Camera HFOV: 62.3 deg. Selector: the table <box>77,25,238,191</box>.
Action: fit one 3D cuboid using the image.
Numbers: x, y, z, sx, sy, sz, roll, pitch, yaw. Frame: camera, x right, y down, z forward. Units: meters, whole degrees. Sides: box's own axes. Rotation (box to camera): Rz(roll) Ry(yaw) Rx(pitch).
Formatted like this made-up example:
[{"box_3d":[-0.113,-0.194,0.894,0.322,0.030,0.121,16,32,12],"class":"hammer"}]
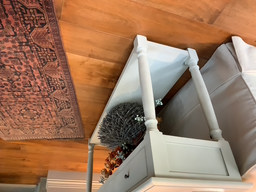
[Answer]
[{"box_3d":[-0.040,0.390,1.530,0.420,0.860,1.430,9,141,-17],"class":"table"}]
